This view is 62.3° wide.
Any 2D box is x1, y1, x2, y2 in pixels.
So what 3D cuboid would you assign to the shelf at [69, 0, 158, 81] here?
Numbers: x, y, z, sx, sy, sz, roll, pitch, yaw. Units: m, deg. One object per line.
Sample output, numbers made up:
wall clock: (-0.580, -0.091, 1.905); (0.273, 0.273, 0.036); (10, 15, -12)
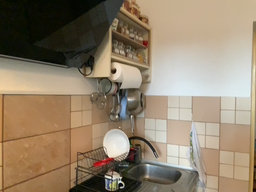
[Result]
shelf: (-0.060, -0.510, 1.600); (0.330, 0.740, 0.710); (2, 1, 28)
